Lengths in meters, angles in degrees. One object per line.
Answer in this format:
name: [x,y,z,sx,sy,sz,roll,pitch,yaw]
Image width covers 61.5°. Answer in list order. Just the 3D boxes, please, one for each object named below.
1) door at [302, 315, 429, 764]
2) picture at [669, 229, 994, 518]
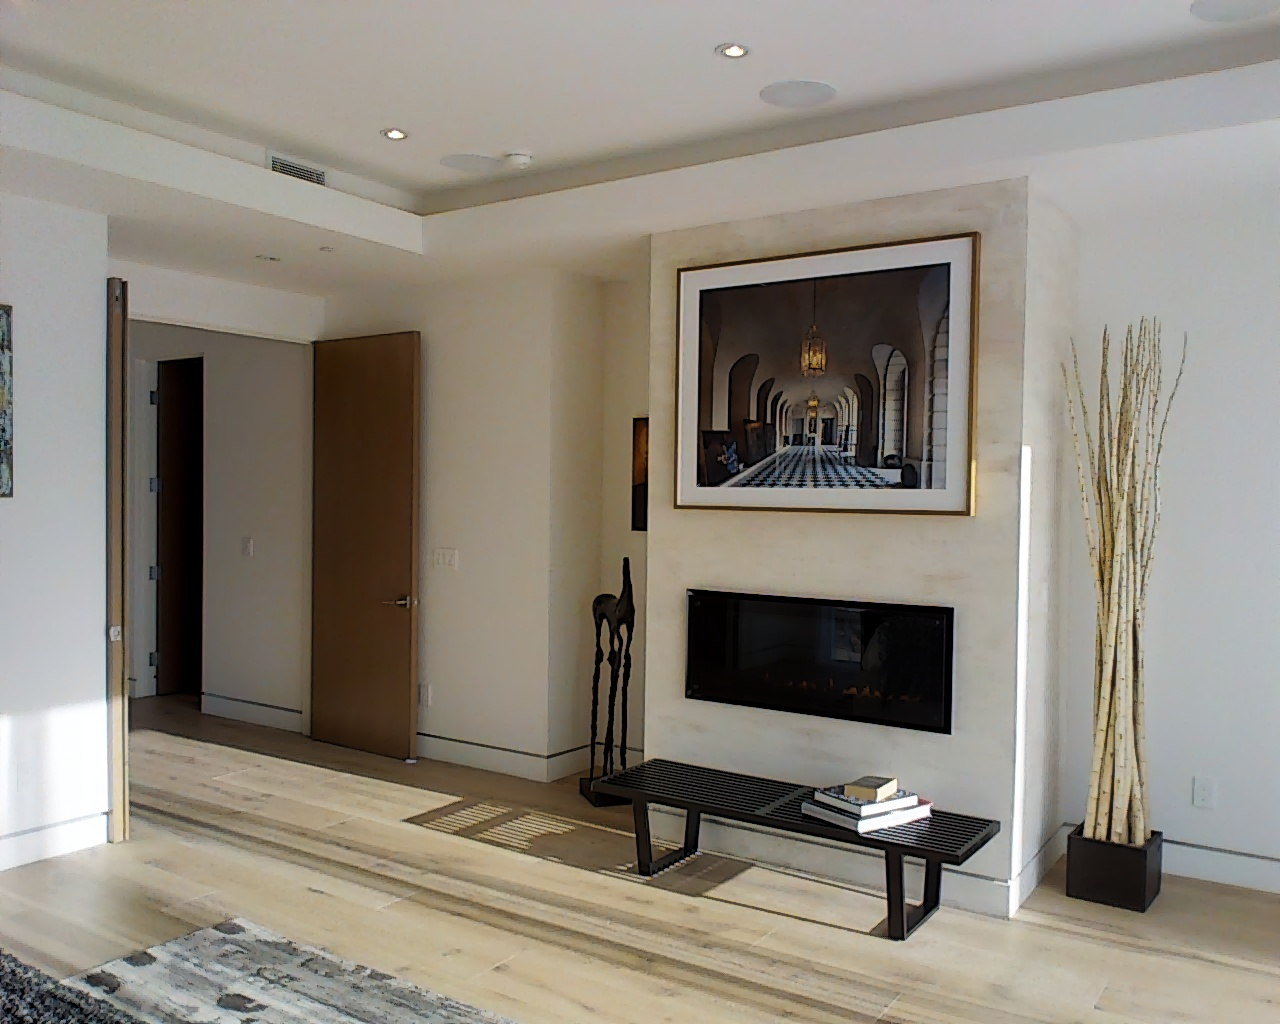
door: [-1.649,0.150,6.400,0.990,2.541,0.090,1,1,34]
picture: [0.720,-0.520,4.360,1.380,1.060,0.060,1,1,34]
